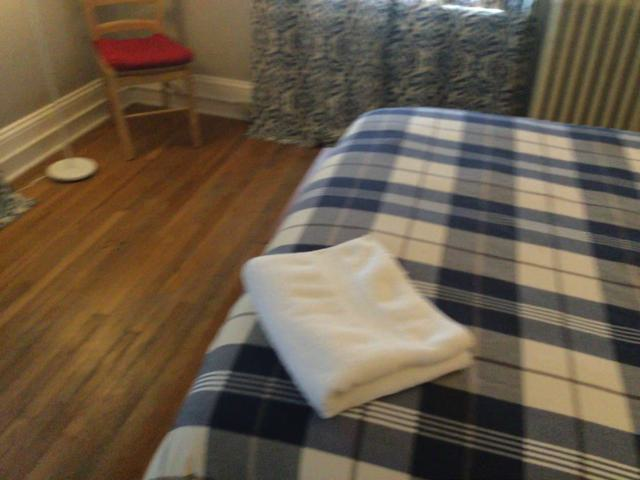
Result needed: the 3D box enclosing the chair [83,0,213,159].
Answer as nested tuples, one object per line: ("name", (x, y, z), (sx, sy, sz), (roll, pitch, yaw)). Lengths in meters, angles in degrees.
("chair", (-0.920, -0.980, 3.070), (0.460, 0.840, 0.620), (-15, 38, -24))
